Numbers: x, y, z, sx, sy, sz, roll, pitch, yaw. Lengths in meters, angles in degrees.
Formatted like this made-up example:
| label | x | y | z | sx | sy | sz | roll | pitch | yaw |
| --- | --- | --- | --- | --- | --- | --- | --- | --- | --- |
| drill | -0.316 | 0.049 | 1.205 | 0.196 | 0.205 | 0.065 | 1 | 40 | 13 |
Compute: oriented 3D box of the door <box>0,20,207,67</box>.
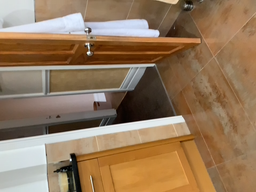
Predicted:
| label | x | y | z | sx | sy | sz | roll | pitch | yaw |
| --- | --- | --- | --- | --- | --- | --- | --- | --- | --- |
| door | -0.470 | -0.340 | 1.530 | 0.660 | 2.070 | 0.110 | 169 | 96 | -66 |
